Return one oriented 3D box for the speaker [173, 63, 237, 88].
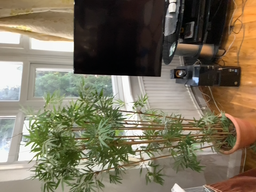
[{"bbox_3d":[0.690,-0.190,1.930,0.310,0.430,0.190,-149,61,-70],"label":"speaker"}]
